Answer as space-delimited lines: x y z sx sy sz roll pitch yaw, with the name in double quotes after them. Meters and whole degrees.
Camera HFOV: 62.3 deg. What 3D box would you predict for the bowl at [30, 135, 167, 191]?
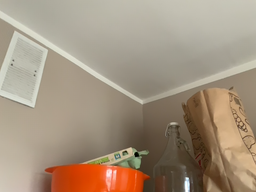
-0.090 0.330 0.770 0.310 0.230 0.380 -19 -35 34 "bowl"
